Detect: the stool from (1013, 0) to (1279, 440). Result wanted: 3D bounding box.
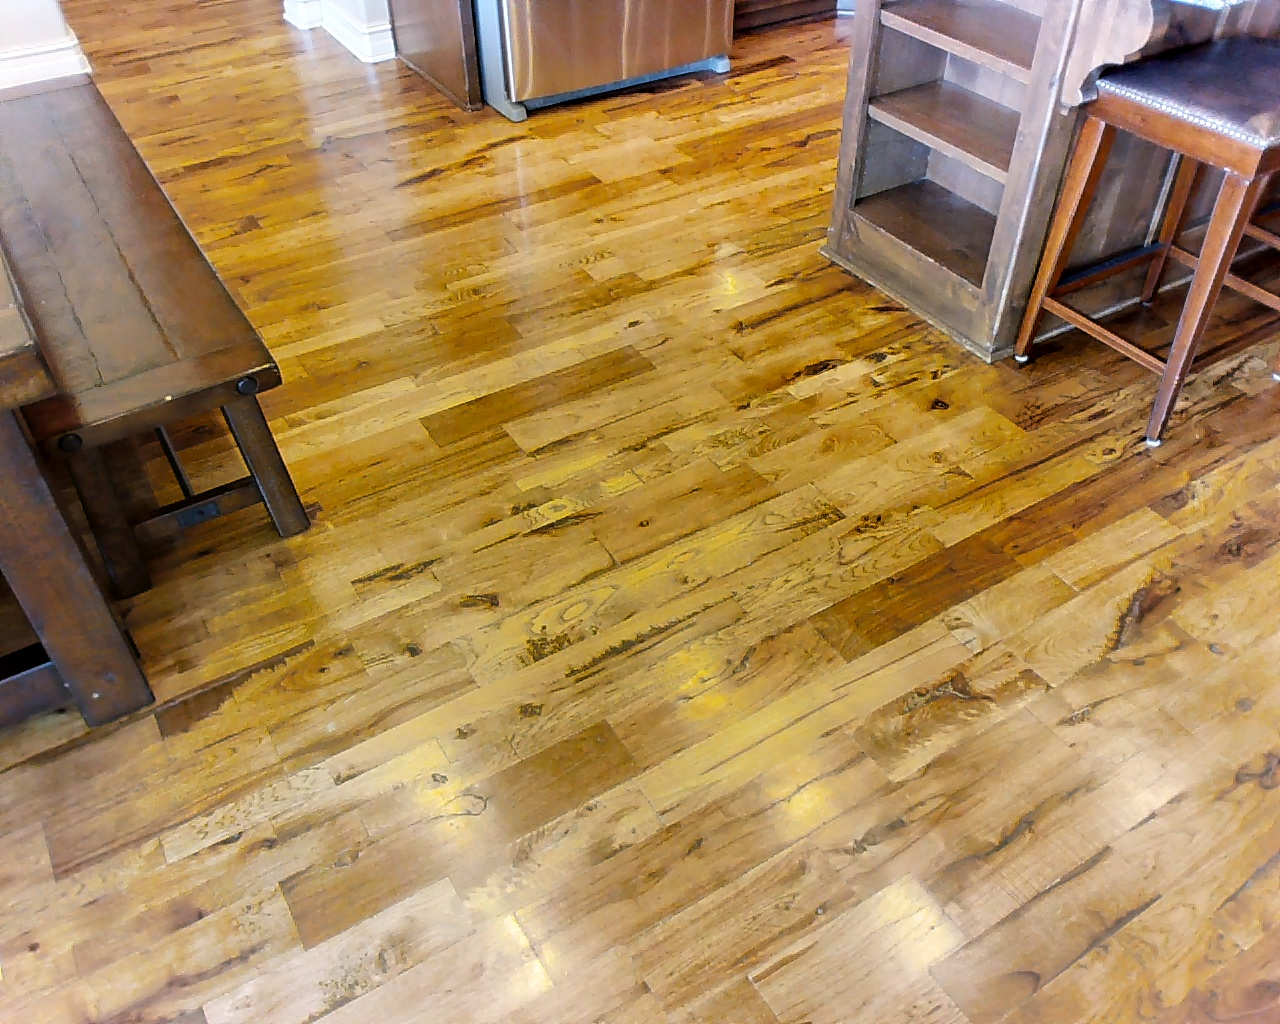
[{"bbox_3d":[1.270,-0.650,2.320,0.610,0.700,0.450,-23,46,-21],"label":"stool"}]

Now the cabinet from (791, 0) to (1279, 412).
[{"bbox_3d":[1.970,-1.390,2.980,3.030,0.900,0.990,-23,47,-22],"label":"cabinet"}]
